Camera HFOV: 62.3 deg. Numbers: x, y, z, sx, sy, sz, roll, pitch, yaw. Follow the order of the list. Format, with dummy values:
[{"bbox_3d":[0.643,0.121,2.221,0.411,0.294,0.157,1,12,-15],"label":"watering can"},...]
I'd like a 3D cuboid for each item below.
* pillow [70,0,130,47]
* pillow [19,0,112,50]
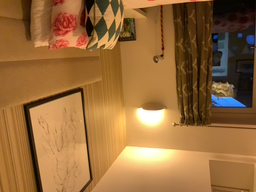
[{"bbox_3d":[-0.170,-0.540,1.470,0.260,0.370,0.410,0,-168,15],"label":"pillow"},{"bbox_3d":[-0.400,-0.540,1.570,0.320,0.370,0.690,0,-168,16],"label":"pillow"}]
